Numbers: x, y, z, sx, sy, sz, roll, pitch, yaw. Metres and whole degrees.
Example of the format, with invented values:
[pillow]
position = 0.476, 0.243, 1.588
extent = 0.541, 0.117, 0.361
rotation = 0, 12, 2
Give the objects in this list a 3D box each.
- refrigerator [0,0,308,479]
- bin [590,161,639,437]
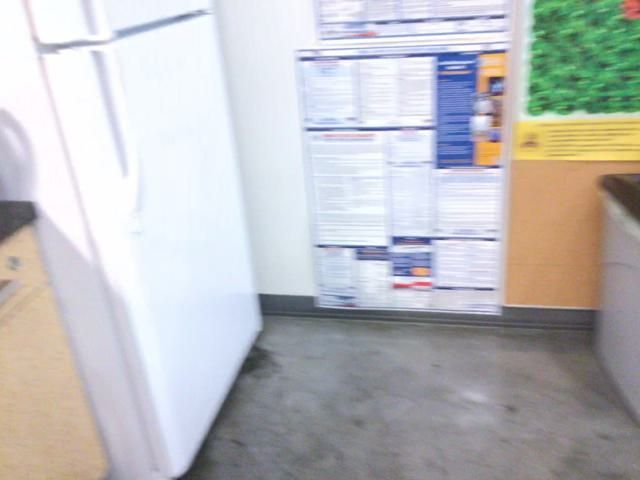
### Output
[refrigerator]
position = -0.670, -0.300, 1.610
extent = 0.850, 1.840, 0.950
rotation = -2, 24, 14
[bin]
position = 1.010, 0.150, 1.700
extent = 0.270, 0.660, 0.490
rotation = -2, 22, 13
